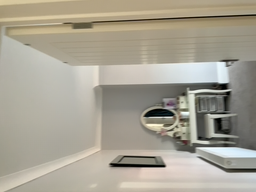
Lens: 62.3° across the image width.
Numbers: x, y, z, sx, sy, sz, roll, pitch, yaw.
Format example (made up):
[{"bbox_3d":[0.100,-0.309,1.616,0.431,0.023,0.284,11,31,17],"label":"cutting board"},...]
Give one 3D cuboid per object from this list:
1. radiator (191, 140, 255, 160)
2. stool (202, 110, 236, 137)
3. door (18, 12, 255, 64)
[{"bbox_3d":[1.250,0.610,2.500,1.320,0.680,0.120,70,-160,-80],"label":"radiator"},{"bbox_3d":[1.500,0.460,3.530,0.260,0.450,0.430,58,-149,-83],"label":"stool"},{"bbox_3d":[0.620,-0.260,1.060,0.690,2.010,0.050,9,-99,-86],"label":"door"}]
